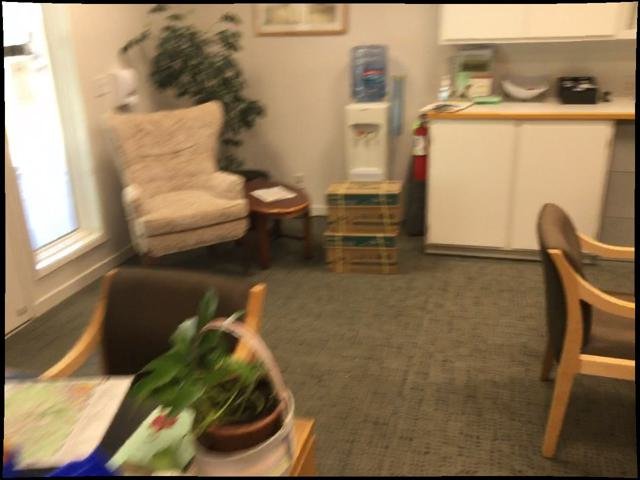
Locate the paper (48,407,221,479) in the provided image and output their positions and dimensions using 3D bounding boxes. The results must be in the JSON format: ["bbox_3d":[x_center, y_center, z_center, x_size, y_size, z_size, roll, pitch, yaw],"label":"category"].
[{"bbox_3d":[-0.360,0.440,1.120,0.240,0.050,0.250,4,23,17],"label":"paper"}]

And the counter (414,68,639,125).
[{"bbox_3d":[2.008,-0.851,3.370,2.797,0.210,0.760,4,23,17],"label":"counter"}]
